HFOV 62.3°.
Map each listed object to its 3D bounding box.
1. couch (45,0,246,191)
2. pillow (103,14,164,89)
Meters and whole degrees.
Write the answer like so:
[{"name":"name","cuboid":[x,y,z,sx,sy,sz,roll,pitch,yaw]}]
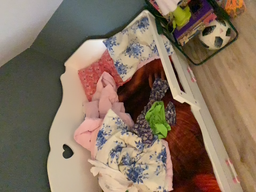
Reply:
[{"name":"couch","cuboid":[0.030,0.240,1.420,0.870,0.730,1.690,-34,49,32]},{"name":"pillow","cuboid":[0.020,-0.340,1.640,0.420,0.150,0.370,-37,47,29]}]
